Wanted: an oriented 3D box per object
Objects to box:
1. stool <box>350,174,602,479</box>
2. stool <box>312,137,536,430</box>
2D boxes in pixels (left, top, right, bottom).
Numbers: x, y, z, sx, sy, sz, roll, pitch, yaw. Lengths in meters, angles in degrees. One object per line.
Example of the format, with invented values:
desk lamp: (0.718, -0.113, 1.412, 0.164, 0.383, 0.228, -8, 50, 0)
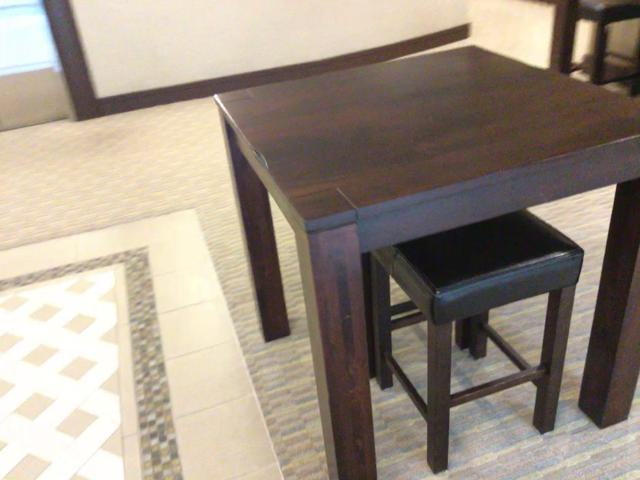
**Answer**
stool: (0.400, 0.240, 1.640, 0.450, 0.650, 0.450, -15, 32, -14)
stool: (0.300, 0.110, 1.870, 0.430, 0.650, 0.580, -15, 32, -14)
